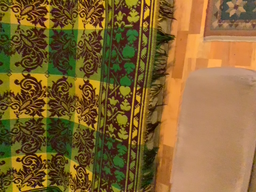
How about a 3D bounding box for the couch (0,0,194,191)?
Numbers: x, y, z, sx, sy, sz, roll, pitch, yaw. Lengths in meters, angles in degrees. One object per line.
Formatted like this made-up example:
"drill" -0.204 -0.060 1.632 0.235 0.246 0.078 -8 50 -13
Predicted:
"couch" -0.390 -0.160 1.130 1.080 0.930 1.940 11 100 35
